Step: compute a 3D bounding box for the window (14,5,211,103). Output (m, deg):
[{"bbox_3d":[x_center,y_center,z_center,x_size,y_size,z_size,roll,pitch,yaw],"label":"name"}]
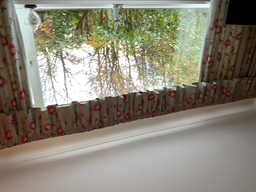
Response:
[{"bbox_3d":[-0.010,-0.490,2.240,1.970,0.860,0.100,-9,-154,-20],"label":"window"}]
